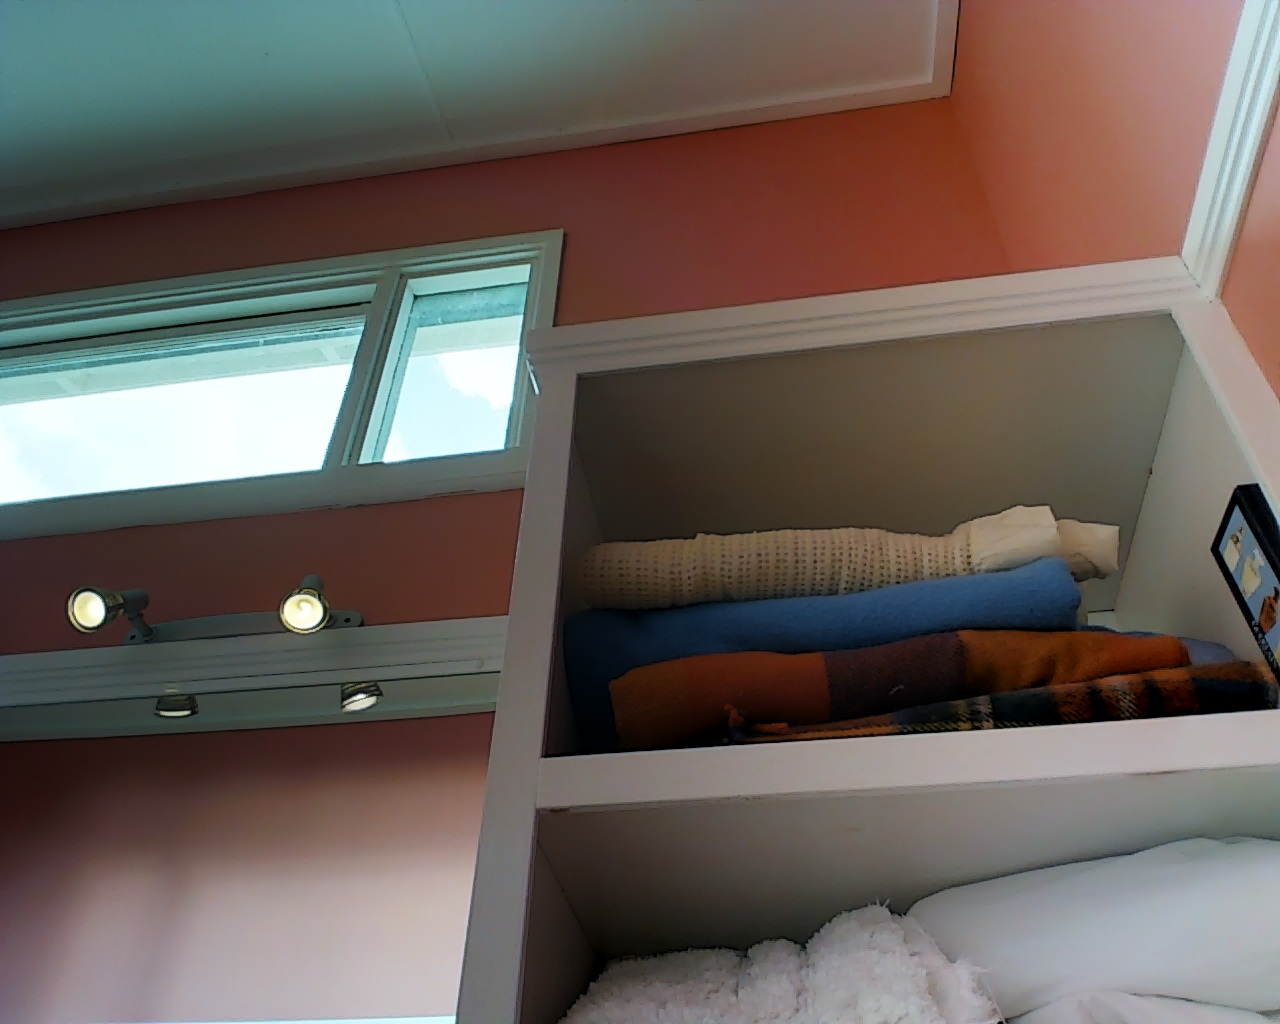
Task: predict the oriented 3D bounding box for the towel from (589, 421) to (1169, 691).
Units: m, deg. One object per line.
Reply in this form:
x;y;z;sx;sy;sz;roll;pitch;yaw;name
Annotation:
0.220;0.050;1.070;0.510;0.150;0.170;-5;-44;8;towel

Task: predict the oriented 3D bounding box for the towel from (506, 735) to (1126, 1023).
0.130;0.400;0.810;0.370;0.280;0.370;-5;-44;8;towel

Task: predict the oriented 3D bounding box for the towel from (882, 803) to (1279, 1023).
0.380;0.330;0.820;0.360;0.140;0.150;-7;-44;9;towel

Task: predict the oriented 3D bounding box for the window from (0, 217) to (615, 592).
-1.079;-0.190;2.190;2.029;0.730;0.180;-5;-44;8;window

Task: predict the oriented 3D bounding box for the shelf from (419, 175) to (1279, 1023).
0.240;0.690;0.600;0.690;2.271;0.540;-5;-44;8;shelf

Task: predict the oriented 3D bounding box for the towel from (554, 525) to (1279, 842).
0.240;0.150;0.900;0.590;0.160;0.160;-5;-44;8;towel

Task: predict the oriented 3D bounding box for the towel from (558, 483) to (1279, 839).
0.260;0.160;1.050;0.620;0.170;0.280;-5;-44;8;towel
